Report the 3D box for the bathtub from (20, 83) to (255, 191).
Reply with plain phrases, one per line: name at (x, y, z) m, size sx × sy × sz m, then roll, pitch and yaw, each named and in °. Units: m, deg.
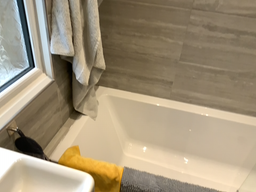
bathtub at (0.430, 0.540, 1.270) m, size 1.670 × 0.580 × 0.830 m, roll 12°, pitch 36°, yaw 8°
